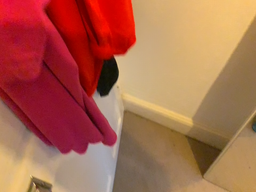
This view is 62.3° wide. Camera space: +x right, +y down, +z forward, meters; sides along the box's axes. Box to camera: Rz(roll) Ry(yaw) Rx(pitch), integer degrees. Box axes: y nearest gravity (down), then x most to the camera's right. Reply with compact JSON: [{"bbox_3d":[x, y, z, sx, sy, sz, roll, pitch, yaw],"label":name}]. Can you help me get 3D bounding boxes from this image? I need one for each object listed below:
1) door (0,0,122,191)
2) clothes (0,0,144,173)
[{"bbox_3d":[-0.180,-0.060,0.400,0.020,1.990,0.660,4,60,8],"label":"door"},{"bbox_3d":[-0.100,-0.200,0.220,0.180,1.020,0.320,4,59,8],"label":"clothes"}]
